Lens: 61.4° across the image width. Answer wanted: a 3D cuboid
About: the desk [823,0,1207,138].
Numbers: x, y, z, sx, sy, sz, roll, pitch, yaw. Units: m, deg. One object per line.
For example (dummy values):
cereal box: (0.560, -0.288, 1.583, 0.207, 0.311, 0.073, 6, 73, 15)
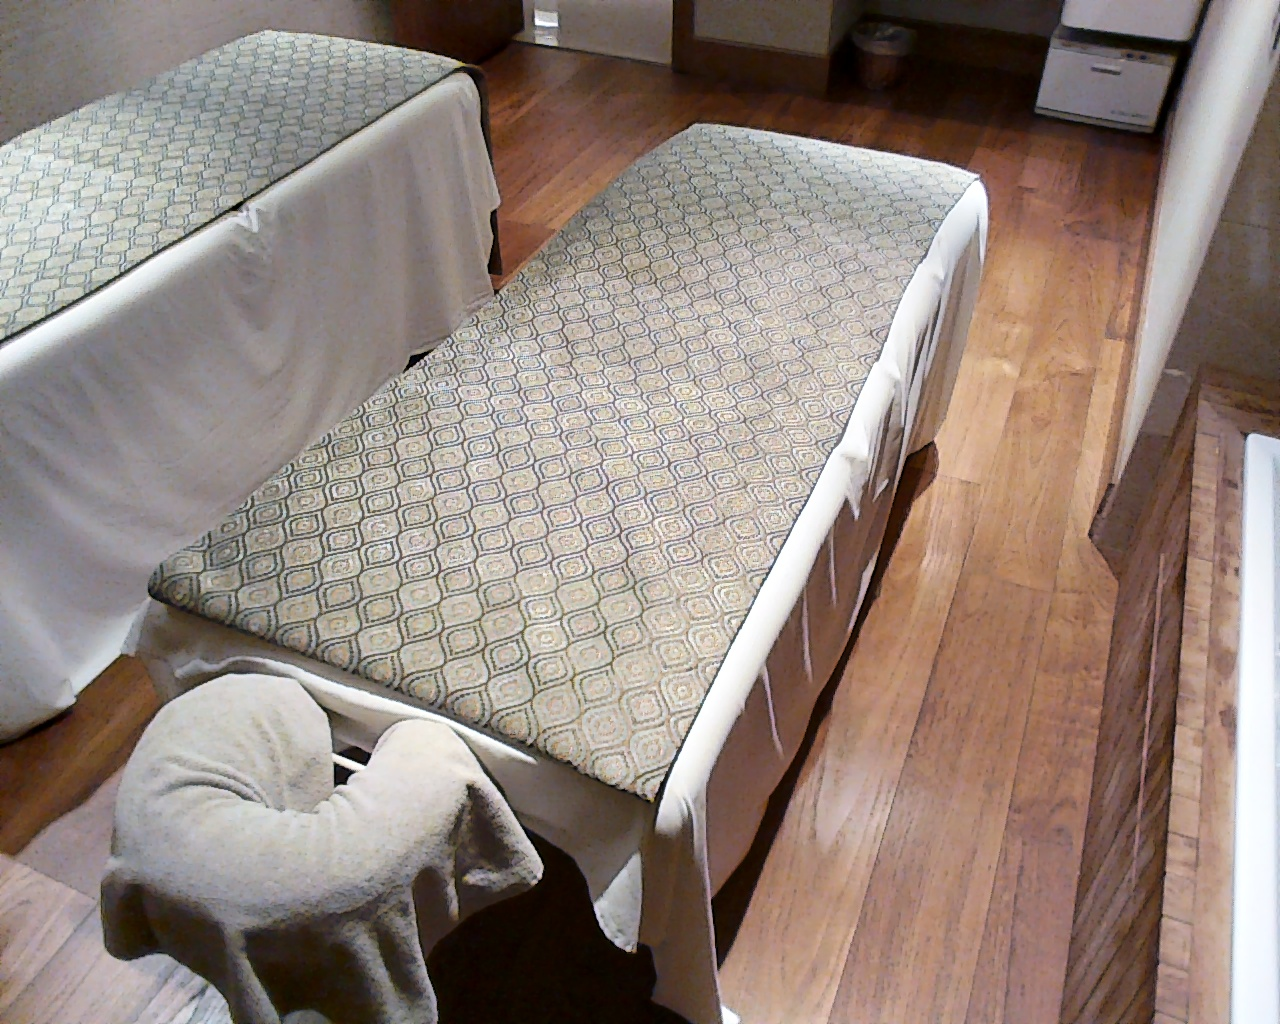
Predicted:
desk: (1.470, -2.050, 4.170, 1.310, 0.780, 0.590, 16, 44, 17)
